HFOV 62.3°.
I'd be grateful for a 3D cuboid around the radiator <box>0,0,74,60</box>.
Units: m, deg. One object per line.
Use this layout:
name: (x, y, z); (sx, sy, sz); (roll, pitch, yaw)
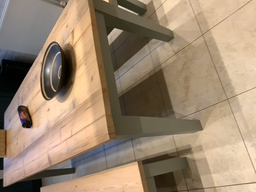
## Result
radiator: (-1.410, -0.940, 3.070); (1.170, 0.810, 0.100); (-35, 60, 43)
